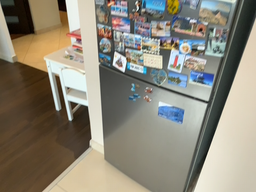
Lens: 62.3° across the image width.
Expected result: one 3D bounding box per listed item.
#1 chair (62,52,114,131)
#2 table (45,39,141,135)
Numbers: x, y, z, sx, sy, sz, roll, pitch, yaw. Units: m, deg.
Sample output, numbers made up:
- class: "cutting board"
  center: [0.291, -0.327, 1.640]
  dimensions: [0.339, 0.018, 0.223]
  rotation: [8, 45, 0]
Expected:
- class: "chair"
  center: [-0.310, -0.040, 1.780]
  dimensions: [0.270, 0.540, 0.300]
  rotation: [16, 37, 19]
- class: "table"
  center: [-0.280, -0.110, 1.870]
  dimensions: [0.610, 0.550, 0.470]
  rotation: [19, 39, 23]
